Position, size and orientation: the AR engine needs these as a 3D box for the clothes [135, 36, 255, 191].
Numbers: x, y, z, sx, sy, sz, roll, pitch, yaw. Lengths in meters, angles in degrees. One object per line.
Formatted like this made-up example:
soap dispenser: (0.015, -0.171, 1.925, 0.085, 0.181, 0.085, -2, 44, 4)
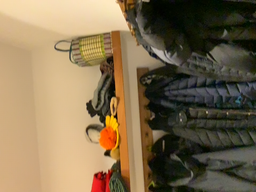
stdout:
clothes: (0.590, 0.290, 1.430, 0.300, 0.970, 1.270, -28, -66, -82)
